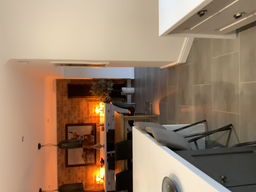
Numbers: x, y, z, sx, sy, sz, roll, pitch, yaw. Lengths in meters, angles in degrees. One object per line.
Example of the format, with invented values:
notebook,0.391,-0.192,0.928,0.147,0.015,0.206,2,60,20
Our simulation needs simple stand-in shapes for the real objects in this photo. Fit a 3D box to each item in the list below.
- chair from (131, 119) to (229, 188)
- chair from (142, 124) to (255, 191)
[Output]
chair,0.540,0.580,2.320,0.460,0.920,0.550,-174,83,-79
chair,0.630,0.570,1.880,0.430,0.920,0.540,-174,83,-79
